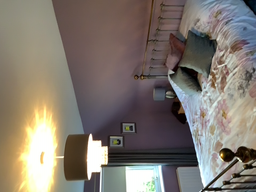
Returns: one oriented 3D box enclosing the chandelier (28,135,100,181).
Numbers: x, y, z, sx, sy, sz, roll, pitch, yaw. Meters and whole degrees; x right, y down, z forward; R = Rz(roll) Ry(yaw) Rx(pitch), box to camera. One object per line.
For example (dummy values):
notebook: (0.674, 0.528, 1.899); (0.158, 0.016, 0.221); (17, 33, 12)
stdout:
chandelier: (-0.430, 0.450, 1.530); (0.250, 0.430, 0.260); (97, -8, -58)

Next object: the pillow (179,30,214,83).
pillow: (0.770, -0.460, 2.450); (0.400, 0.180, 0.480); (-96, -173, -58)
